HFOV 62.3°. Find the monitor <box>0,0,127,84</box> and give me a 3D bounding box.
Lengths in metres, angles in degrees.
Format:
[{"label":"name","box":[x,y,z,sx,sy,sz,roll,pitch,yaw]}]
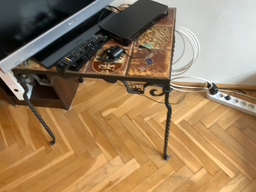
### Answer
[{"label":"monitor","box":[-0.250,-0.410,0.750,0.040,0.450,0.670,30,60,26]}]
